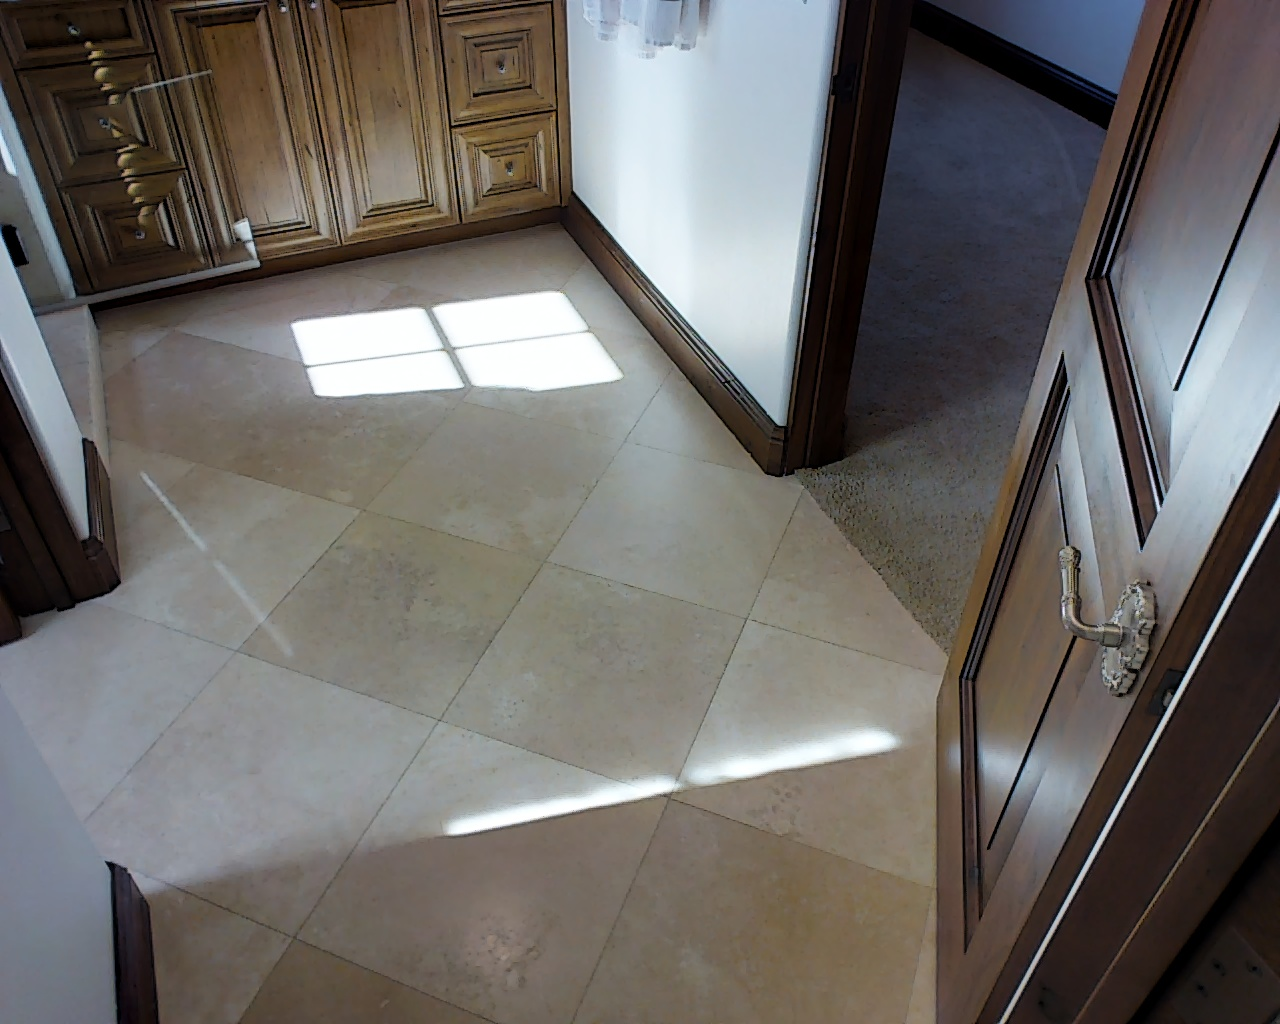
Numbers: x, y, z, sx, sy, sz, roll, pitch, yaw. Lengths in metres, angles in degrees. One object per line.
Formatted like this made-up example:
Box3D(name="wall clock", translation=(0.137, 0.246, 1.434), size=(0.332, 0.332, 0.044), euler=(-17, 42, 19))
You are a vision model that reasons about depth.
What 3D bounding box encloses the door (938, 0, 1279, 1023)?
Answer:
Box3D(name="door", translation=(0.510, -0.320, 0.940), size=(0.040, 2.460, 0.810), euler=(8, 41, 9))
